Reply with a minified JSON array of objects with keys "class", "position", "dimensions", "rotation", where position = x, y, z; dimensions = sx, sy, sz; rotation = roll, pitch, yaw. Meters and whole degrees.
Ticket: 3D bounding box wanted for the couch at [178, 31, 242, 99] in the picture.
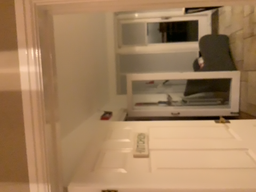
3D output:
[{"class":"couch","position":[1.490,-0.580,4.100],"dimensions":[0.800,0.820,1.010],"rotation":[84,-174,-56]}]
